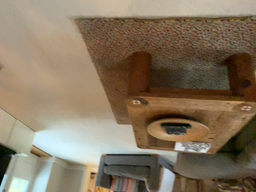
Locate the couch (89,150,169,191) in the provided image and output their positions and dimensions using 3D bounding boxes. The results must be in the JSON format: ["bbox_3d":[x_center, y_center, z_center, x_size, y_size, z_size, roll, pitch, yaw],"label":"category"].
[{"bbox_3d":[0.090,1.640,4.380,1.270,0.780,1.070,-6,150,22],"label":"couch"}]

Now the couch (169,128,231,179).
[{"bbox_3d":[0.960,0.880,3.090,0.610,0.420,1.130,3,152,7],"label":"couch"}]
